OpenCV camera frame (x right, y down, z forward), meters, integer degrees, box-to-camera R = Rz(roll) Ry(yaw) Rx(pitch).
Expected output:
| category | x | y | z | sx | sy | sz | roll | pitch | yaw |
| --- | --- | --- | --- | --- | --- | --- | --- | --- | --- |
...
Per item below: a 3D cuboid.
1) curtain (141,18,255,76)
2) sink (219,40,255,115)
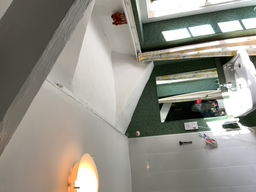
| category | x | y | z | sx | sy | sz | roll | pitch | yaw |
| --- | --- | --- | --- | --- | --- | --- | --- | --- | --- |
| curtain | 1.110 | -0.580 | 2.410 | 0.420 | 1.870 | 0.300 | 62 | -158 | -70 |
| sink | 1.280 | -0.180 | 2.330 | 0.450 | 0.290 | 0.670 | 60 | -157 | -71 |
